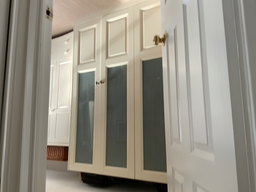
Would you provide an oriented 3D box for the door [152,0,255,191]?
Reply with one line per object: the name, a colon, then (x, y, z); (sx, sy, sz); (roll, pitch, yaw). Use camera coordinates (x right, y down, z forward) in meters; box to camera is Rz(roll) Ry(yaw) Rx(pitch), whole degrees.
door: (0.240, -0.360, 0.910); (0.110, 1.960, 0.830); (0, 173, -4)
